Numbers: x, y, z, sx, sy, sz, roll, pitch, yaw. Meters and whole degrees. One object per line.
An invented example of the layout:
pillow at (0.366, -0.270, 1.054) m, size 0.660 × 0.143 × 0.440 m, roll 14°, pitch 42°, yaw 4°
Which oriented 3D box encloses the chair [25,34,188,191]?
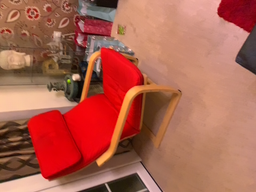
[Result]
chair at (-0.240, 0.070, 1.720) m, size 0.730 × 0.940 × 0.820 m, roll 46°, pitch 129°, yaw 43°
